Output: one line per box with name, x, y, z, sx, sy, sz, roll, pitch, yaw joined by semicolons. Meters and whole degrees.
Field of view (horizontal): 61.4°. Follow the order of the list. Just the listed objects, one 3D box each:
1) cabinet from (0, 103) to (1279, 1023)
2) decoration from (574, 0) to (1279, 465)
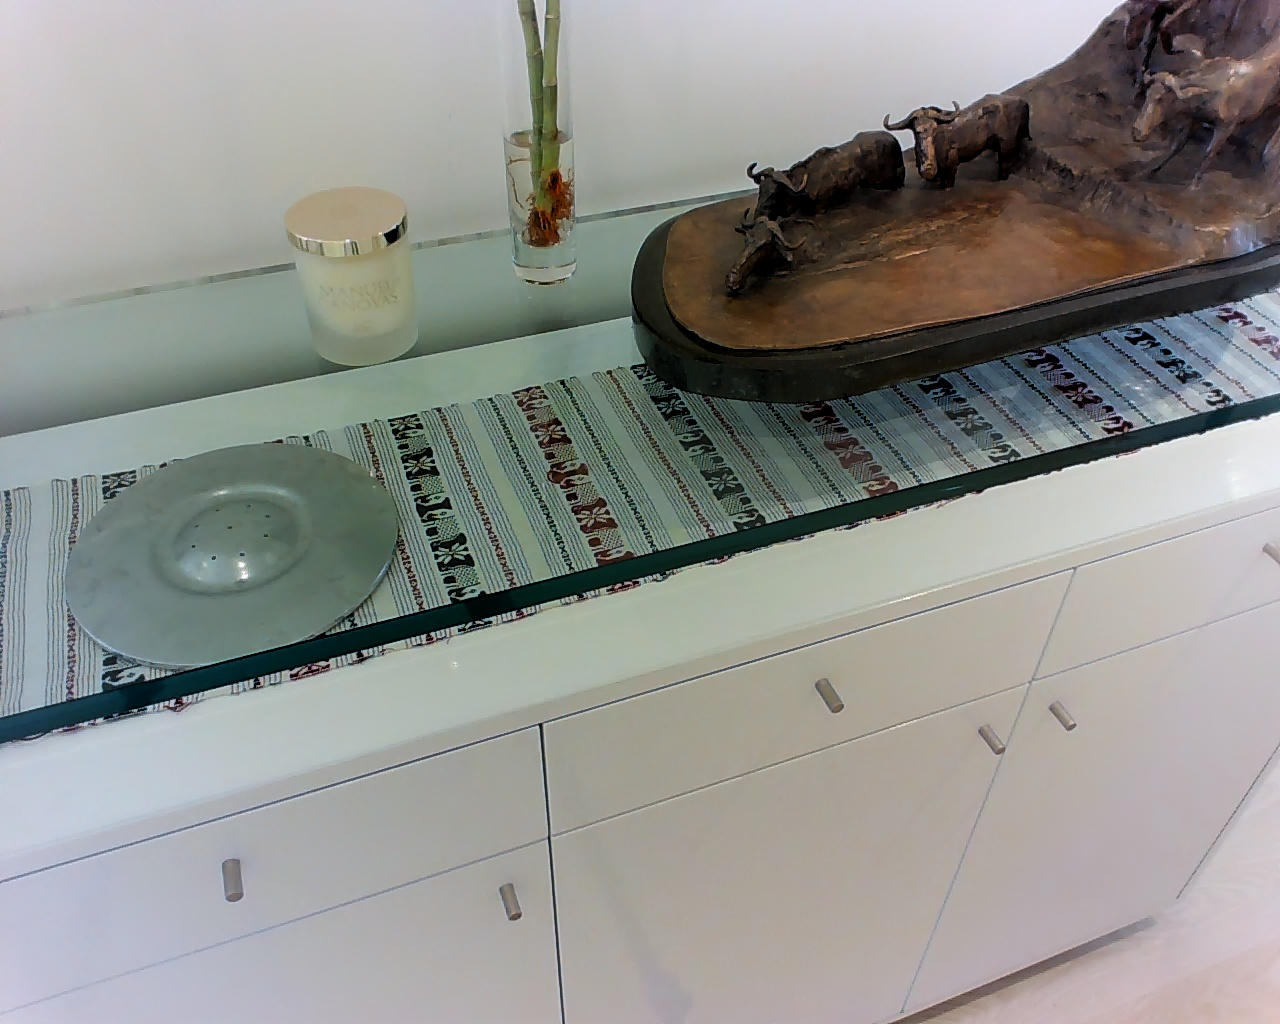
cabinet;0.060;0.230;1.130;1.360;0.970;0.460;-14;44;-15
decoration;0.380;-0.360;0.810;0.800;0.370;0.310;-14;44;-15
